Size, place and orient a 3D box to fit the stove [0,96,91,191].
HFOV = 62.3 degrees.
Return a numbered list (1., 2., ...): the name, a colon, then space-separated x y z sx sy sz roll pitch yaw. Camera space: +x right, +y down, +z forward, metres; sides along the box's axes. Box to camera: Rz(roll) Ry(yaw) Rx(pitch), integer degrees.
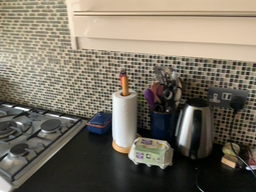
1. stove: -0.620 0.170 1.020 0.700 0.040 0.530 9 26 20
